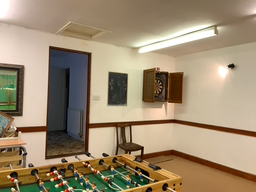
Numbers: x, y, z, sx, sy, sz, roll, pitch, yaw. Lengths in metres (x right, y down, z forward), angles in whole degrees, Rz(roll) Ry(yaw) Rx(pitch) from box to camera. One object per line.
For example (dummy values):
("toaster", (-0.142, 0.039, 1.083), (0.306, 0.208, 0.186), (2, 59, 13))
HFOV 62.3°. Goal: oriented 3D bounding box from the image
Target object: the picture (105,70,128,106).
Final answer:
("picture", (-0.240, -0.160, 4.440), (0.500, 0.720, 0.050), (2, 0, -33))
